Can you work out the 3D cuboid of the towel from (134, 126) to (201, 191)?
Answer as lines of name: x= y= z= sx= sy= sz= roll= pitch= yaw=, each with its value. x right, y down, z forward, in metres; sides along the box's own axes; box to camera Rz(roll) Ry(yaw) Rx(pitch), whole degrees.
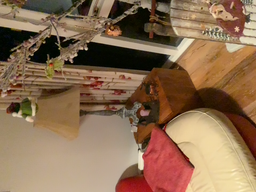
towel: x=0.250 y=0.550 z=1.550 sx=0.480 sy=0.100 sz=0.470 roll=42 pitch=124 yaw=54
